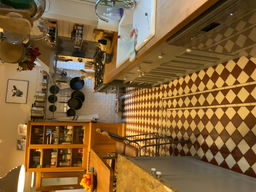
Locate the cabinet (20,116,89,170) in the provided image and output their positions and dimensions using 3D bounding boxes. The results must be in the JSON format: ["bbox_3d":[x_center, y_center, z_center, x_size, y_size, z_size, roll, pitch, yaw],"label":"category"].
[{"bbox_3d":[-1.560,1.000,4.610,0.350,1.300,1.070,168,105,-72],"label":"cabinet"}]
